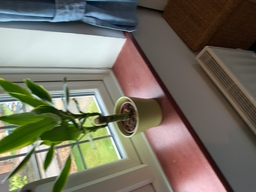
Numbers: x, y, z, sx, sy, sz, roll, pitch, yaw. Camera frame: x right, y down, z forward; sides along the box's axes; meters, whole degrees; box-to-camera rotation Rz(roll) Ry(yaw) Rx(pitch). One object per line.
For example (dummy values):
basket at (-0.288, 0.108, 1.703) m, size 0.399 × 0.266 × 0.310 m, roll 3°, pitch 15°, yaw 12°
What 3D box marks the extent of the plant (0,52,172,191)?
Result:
plant at (-0.160, 0.050, 0.700) m, size 0.180 × 0.500 × 0.340 m, roll -55°, pitch 52°, yaw 41°
